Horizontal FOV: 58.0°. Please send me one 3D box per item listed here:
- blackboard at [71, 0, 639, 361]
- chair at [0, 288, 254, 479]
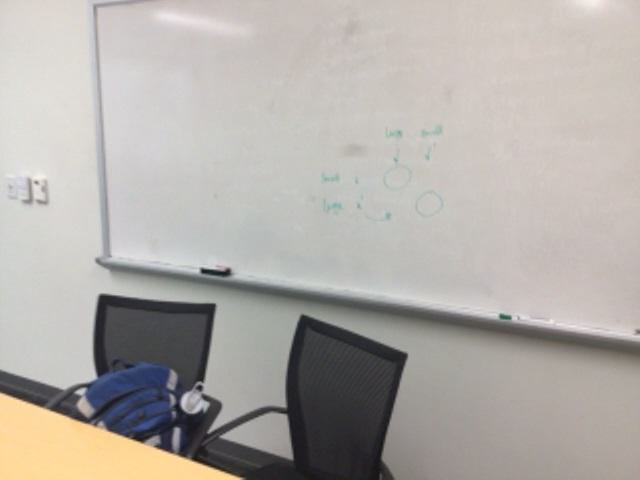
[{"bbox_3d":[0.030,-0.390,2.120,2.410,1.240,0.160,7,12,26],"label":"blackboard"},{"bbox_3d":[-0.610,0.680,1.840,0.620,0.880,0.560,5,11,14],"label":"chair"}]
